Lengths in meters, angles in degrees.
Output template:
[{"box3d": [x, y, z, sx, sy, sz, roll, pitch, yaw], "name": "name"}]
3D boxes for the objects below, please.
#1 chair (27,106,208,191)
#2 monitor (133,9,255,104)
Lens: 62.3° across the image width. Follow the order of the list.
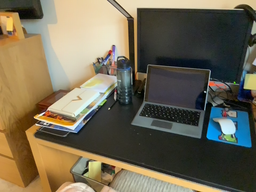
[{"box3d": [0.030, 0.530, 0.890, 0.440, 0.760, 0.510, 9, 29, 21], "name": "chair"}, {"box3d": [0.290, -0.200, 1.070, 0.530, 0.440, 0.050, 8, 29, 19], "name": "monitor"}]
